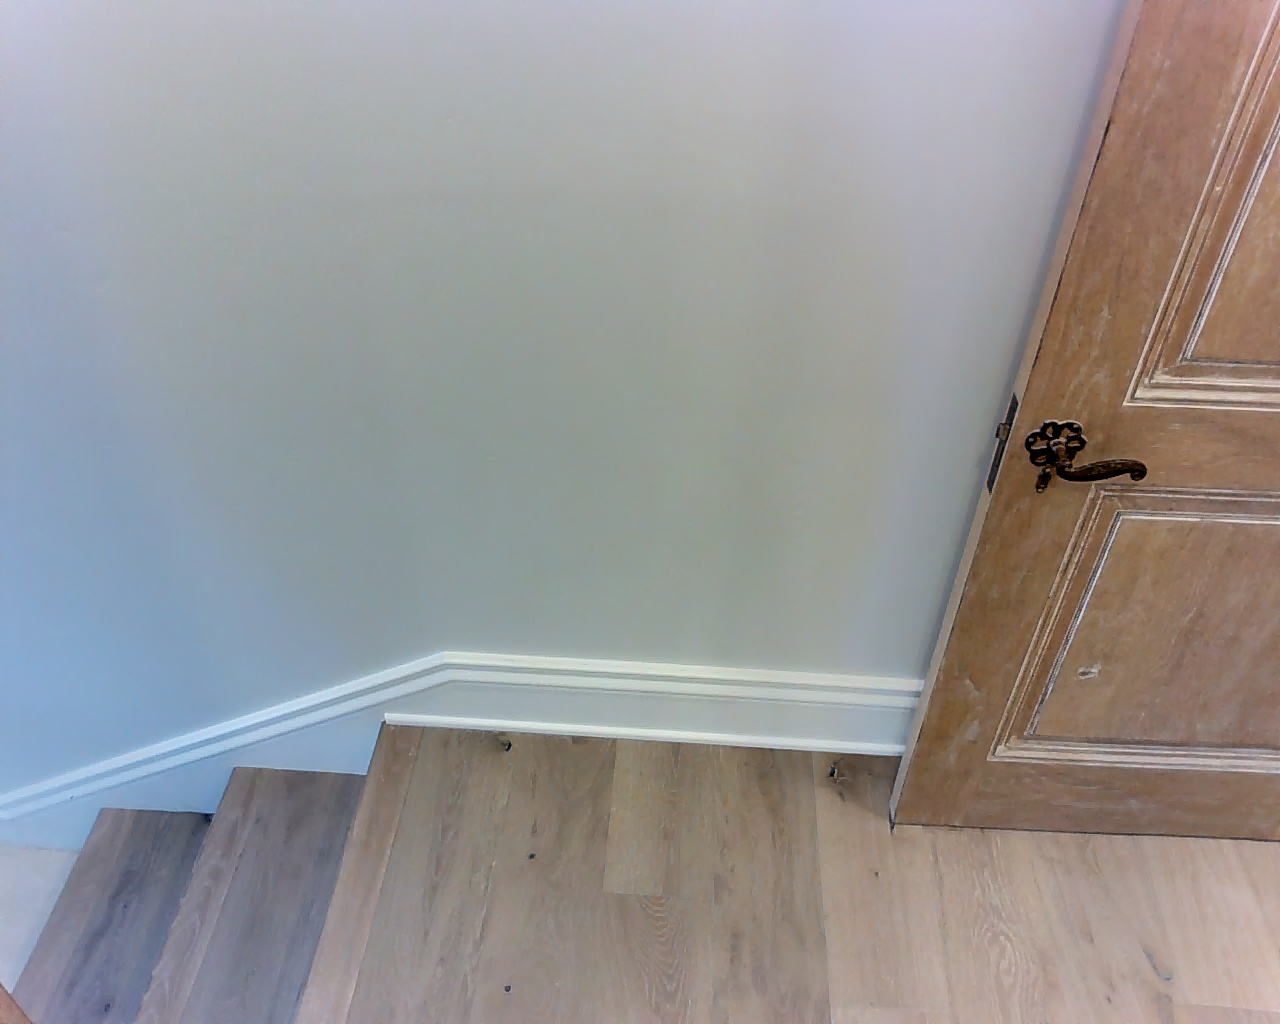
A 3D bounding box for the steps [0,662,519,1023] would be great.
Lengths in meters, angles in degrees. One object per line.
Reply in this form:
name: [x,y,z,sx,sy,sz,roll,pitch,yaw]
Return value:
steps: [-0.830,0.900,2.010,1.030,0.600,1.020,3,42,2]
